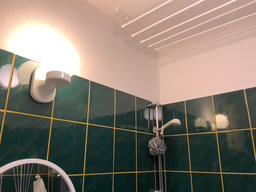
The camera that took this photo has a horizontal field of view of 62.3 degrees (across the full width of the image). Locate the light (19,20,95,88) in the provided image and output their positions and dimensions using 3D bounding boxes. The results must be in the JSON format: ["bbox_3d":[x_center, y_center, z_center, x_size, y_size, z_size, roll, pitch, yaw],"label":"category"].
[{"bbox_3d":[-0.320,-0.170,0.970,0.260,0.210,0.170,-14,-112,39],"label":"light"}]
